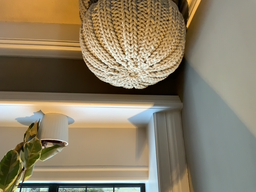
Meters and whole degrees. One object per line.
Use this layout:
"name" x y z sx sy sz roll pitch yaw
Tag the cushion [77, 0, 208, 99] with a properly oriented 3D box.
"cushion" 0.030 -0.330 1.060 0.470 0.550 0.440 1 155 -6
